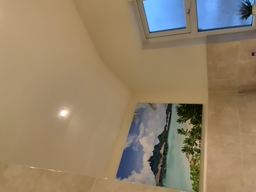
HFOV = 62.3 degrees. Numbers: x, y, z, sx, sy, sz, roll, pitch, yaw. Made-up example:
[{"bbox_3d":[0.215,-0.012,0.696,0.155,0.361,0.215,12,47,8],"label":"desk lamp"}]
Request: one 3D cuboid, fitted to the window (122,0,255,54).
[{"bbox_3d":[0.680,-0.840,2.140,0.670,1.300,0.310,66,-148,-45],"label":"window"}]
